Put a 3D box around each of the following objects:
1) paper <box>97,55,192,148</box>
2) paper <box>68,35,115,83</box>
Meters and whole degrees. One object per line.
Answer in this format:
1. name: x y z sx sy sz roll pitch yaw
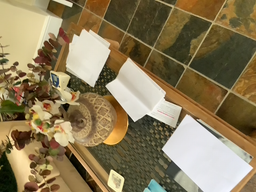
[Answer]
1. paper: 0.060 0.010 1.090 0.450 0.100 0.250 39 113 30
2. paper: -0.240 -0.240 1.350 0.300 0.070 0.200 32 109 33
